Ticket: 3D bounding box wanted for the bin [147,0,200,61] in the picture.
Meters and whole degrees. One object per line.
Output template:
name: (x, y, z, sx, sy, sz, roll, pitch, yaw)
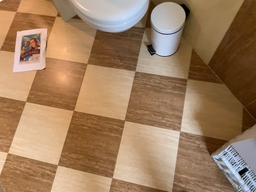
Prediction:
bin: (0.230, -0.370, 1.160, 0.180, 0.280, 0.180, -33, 73, -6)
